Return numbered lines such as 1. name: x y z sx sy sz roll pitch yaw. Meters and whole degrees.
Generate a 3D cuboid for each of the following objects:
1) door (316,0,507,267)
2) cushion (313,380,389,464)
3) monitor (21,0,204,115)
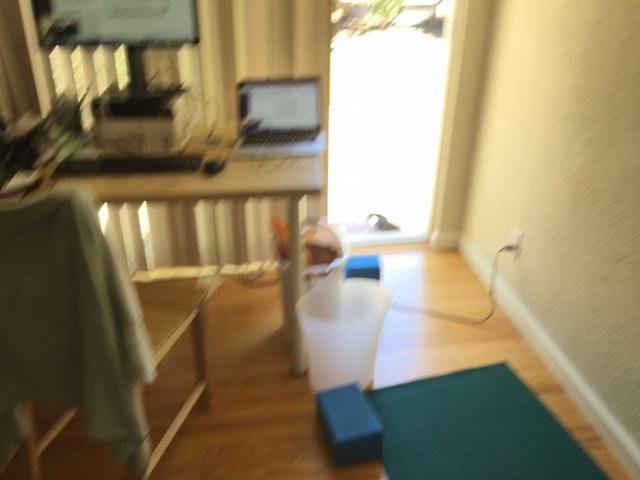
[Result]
1. door: 0.380 -0.840 2.380 0.660 1.990 0.240 -2 26 -11
2. cushion: 0.090 0.550 1.770 0.150 0.100 0.220 -6 27 -20
3. monitor: -0.660 -0.710 1.920 0.520 0.520 0.300 -2 26 -11
